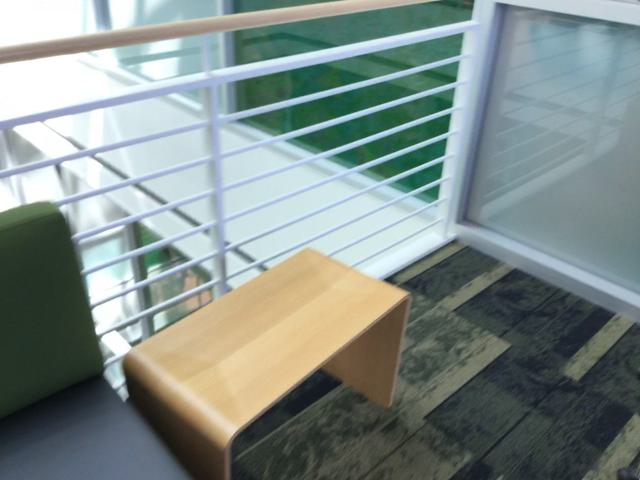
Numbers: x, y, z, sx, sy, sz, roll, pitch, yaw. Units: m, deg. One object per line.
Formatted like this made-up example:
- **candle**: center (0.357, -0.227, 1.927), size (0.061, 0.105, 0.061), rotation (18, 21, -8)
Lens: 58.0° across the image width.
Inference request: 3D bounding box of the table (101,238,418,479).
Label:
- **table**: center (-0.110, 0.370, 1.510), size (0.380, 0.450, 0.700), rotation (20, 34, 37)
